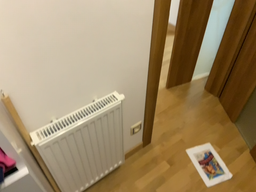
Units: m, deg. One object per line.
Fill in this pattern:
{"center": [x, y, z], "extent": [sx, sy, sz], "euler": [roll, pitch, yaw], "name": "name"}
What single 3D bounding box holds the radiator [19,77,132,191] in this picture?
{"center": [-0.200, 0.320, 1.160], "extent": [0.480, 0.790, 0.090], "euler": [-30, 53, -27], "name": "radiator"}
